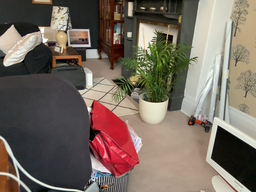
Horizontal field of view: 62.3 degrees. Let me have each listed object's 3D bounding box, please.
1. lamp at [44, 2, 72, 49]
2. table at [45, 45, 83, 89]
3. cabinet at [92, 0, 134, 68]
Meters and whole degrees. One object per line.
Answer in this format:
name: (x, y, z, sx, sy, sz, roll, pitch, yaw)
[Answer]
lamp: (-1.110, -1.120, 3.380, 0.340, 0.670, 0.390, -6, 25, -22)
table: (-1.040, -0.500, 3.370, 0.430, 0.470, 0.870, -7, 25, -23)
cabinet: (-0.360, -1.650, 4.360, 0.470, 1.870, 1.130, -7, 25, -24)
